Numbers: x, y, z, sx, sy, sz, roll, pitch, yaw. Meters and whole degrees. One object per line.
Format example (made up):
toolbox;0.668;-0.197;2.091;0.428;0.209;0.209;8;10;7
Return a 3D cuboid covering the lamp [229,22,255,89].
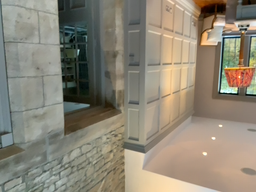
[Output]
lamp;1.630;-0.550;2.910;0.340;0.840;0.320;7;-168;30
